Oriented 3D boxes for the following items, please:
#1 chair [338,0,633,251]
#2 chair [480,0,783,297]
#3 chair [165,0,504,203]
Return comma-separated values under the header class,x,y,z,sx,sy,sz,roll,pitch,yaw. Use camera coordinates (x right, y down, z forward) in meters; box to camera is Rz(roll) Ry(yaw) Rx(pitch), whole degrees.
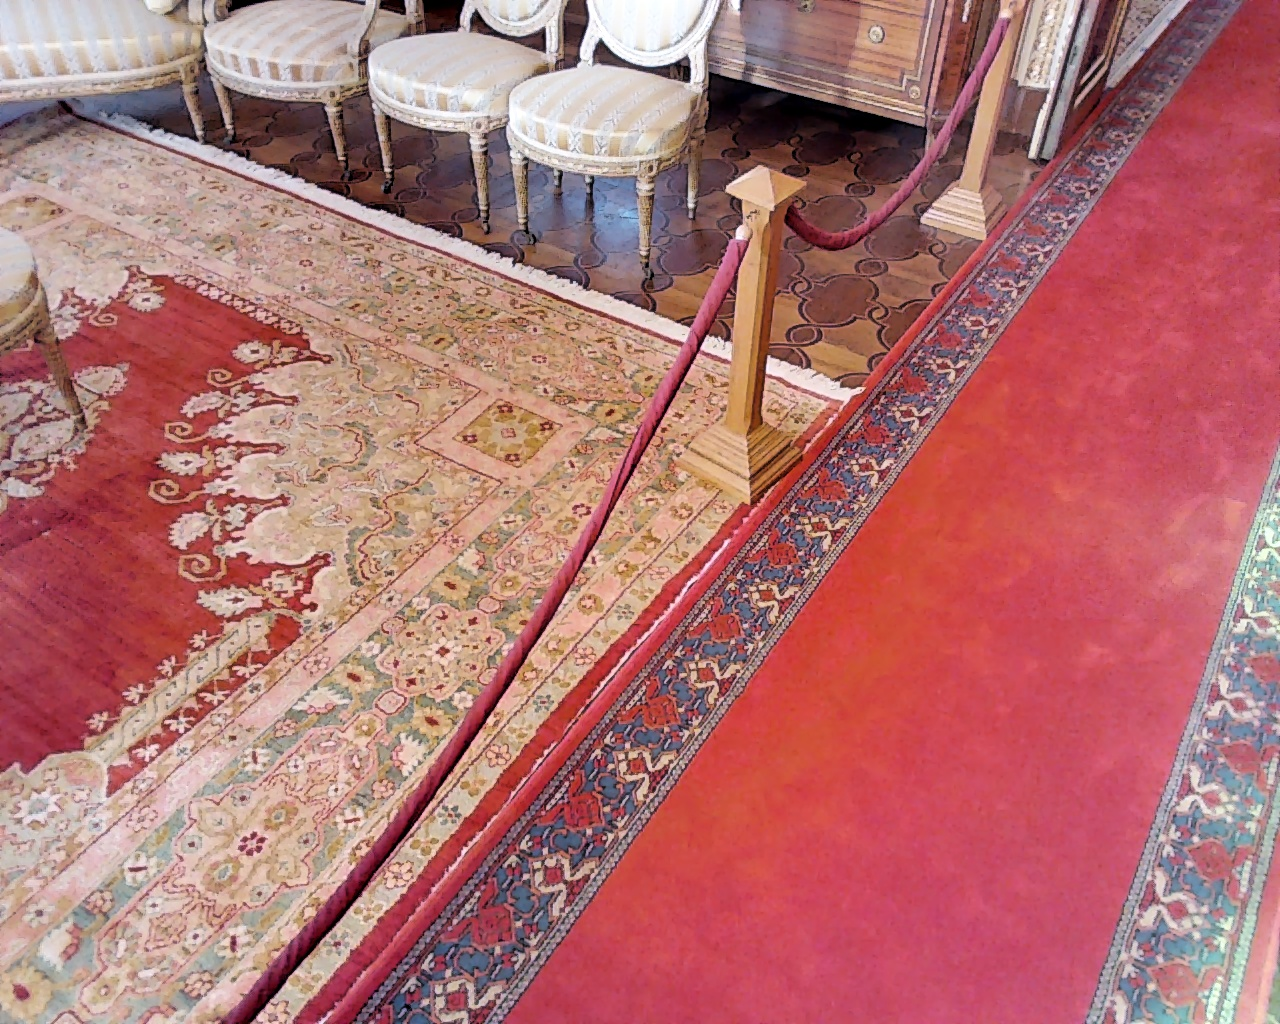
class,x,y,z,sx,sy,sz,roll,pitch,yaw
chair,-0.470,-1.540,3.440,0.590,1.050,0.720,25,48,24
chair,-0.010,-1.340,3.230,0.590,1.040,0.690,25,48,24
chair,-1.060,-1.850,3.730,0.750,1.120,0.840,20,46,19
